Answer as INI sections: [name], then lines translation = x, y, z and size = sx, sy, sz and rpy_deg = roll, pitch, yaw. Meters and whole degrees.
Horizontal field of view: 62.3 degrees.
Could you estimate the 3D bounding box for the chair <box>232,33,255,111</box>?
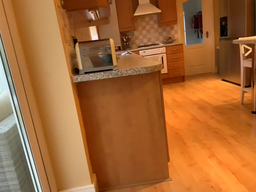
[chair]
translation = 1.700, -0.340, 2.770
size = 0.420, 0.910, 0.490
rpy_deg = -8, 15, -2
